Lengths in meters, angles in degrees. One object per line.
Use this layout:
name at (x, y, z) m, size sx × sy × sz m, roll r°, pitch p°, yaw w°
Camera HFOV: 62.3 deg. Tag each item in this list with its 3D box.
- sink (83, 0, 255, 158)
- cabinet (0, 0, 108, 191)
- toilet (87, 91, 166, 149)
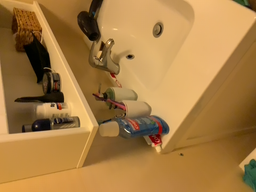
sink at (0.070, -0.250, 0.860) m, size 0.830 × 0.130 × 0.480 m, roll 55°, pitch 132°, yaw 39°
cabinet at (-0.660, -0.120, 0.480) m, size 0.830 × 0.990 × 0.150 m, roll 55°, pitch 132°, yaw 39°
toilet at (-0.010, 0.070, 0.710) m, size 0.170 × 0.190 × 0.090 m, roll 51°, pitch 129°, yaw 42°
